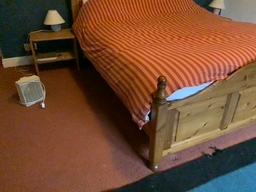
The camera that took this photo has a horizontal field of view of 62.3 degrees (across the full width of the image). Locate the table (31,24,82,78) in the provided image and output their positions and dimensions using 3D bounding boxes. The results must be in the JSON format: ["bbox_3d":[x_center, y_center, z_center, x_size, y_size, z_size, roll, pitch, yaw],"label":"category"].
[{"bbox_3d":[-0.890,-0.580,2.660,0.490,0.500,0.420,-12,33,-19],"label":"table"}]
